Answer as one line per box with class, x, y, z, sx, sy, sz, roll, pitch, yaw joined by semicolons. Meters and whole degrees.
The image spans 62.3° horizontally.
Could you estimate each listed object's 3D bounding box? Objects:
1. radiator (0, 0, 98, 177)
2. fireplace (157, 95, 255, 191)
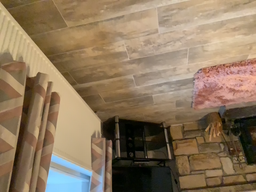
radiator;-0.520;0.130;1.540;0.150;0.660;1.630;-8;152;5
fireplace;1.710;0.670;2.750;2.510;0.960;1.170;-8;152;5
